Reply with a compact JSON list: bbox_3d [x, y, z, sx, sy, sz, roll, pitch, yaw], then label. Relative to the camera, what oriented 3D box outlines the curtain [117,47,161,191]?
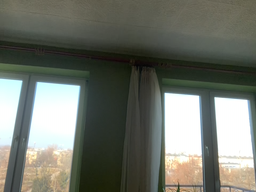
[{"bbox_3d":[0.140,0.430,2.570,0.440,2.030,0.320,4,-14,-8],"label":"curtain"}]
